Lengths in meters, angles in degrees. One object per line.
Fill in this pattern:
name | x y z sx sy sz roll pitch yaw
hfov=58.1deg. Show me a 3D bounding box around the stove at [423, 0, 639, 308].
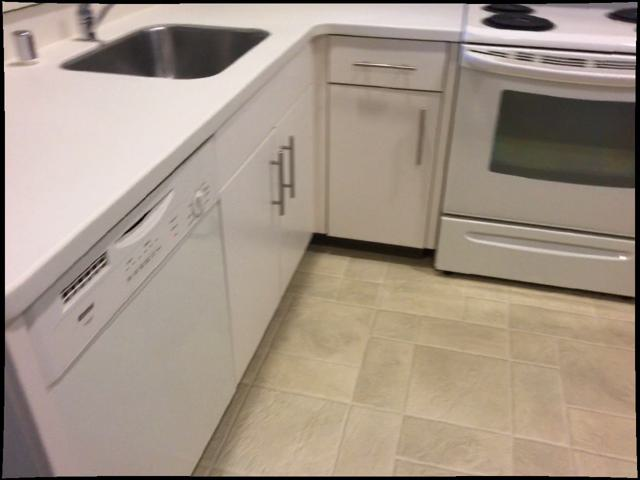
stove | 0.868 -0.501 2.150 0.778 1.202 0.730 8 33 11
